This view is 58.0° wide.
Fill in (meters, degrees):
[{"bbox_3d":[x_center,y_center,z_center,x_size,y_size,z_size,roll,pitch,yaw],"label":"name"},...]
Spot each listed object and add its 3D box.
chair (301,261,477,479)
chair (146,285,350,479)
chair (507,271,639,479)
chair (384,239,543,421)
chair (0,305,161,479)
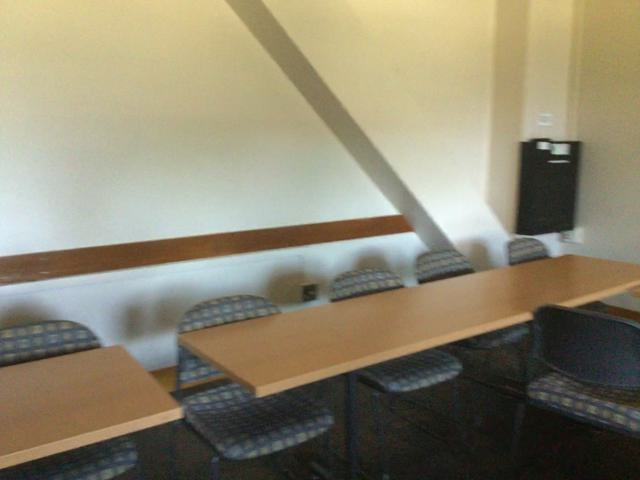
[{"bbox_3d":[0.290,0.520,2.510,0.500,0.710,0.550,-9,12,-34],"label":"chair"},{"bbox_3d":[-0.260,0.590,2.070,0.500,0.690,0.540,-9,12,-34],"label":"chair"},{"bbox_3d":[1.070,0.530,2.180,0.520,0.680,0.500,7,13,40],"label":"chair"},{"bbox_3d":[0.720,0.410,2.940,0.610,0.710,0.480,-8,12,-31],"label":"chair"},{"bbox_3d":[-0.840,0.630,1.790,0.510,0.670,0.520,-9,12,-34],"label":"chair"}]
